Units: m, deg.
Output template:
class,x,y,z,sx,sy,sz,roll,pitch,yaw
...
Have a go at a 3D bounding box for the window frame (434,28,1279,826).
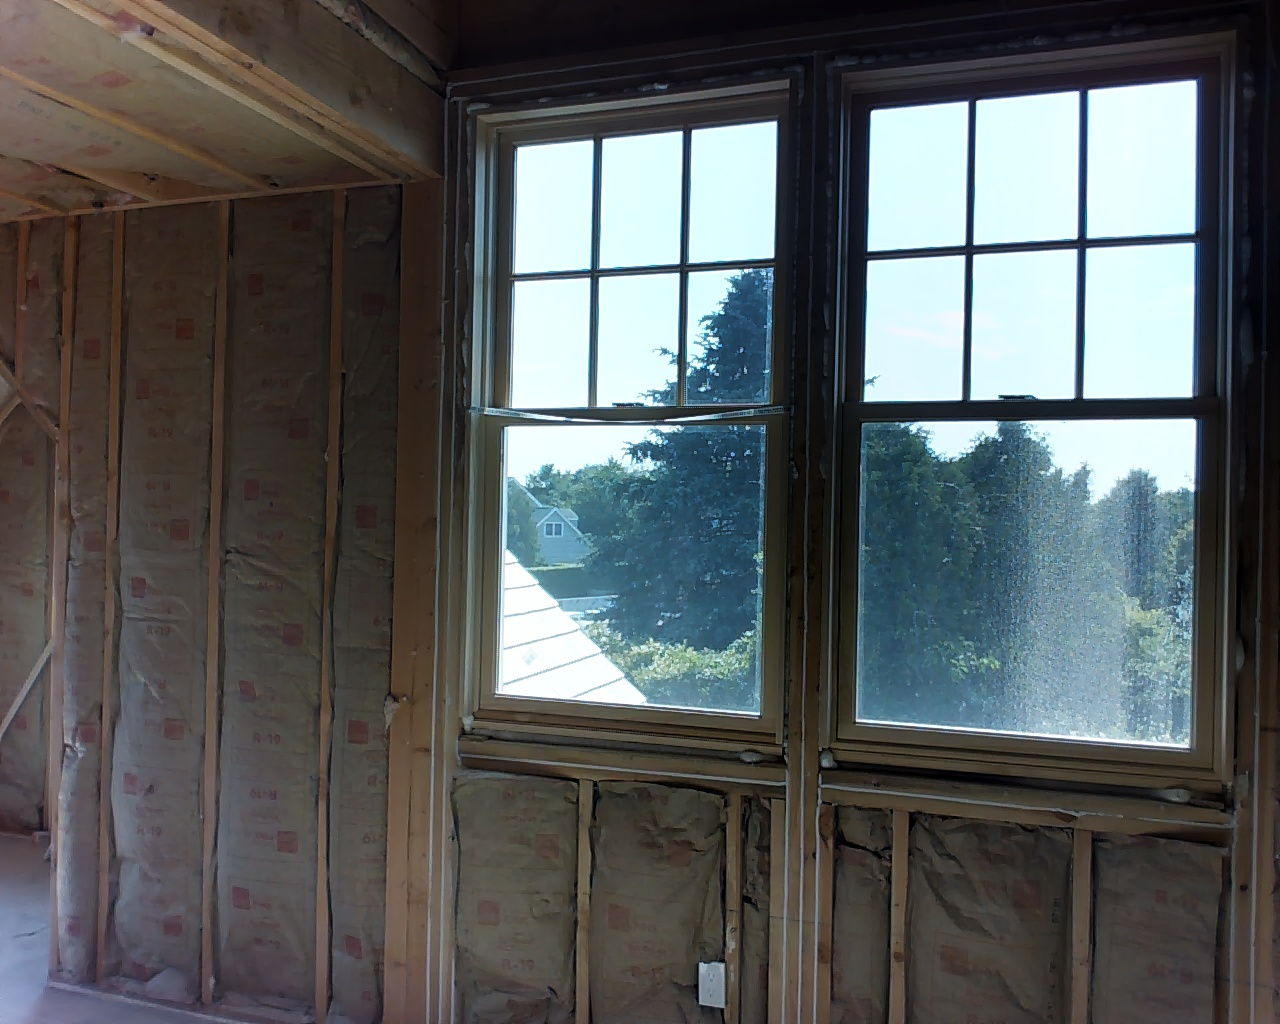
class,x,y,z,sx,sy,sz,roll,pitch,yaw
window frame,0.470,-0.200,2.740,2.090,1.720,0.210,1,-1,19
